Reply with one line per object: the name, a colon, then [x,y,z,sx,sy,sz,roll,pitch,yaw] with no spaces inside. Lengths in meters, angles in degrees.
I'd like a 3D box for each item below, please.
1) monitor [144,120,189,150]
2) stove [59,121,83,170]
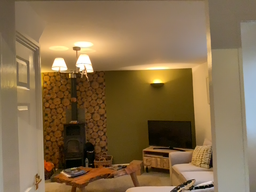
monitor: [0.810,0.830,4.600,0.960,0.600,0.050,-3,-1,27]
stove: [-1.260,1.080,4.730,0.430,1.000,0.370,-1,-1,-5]
